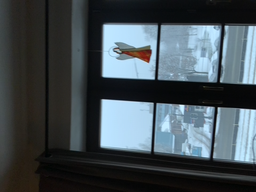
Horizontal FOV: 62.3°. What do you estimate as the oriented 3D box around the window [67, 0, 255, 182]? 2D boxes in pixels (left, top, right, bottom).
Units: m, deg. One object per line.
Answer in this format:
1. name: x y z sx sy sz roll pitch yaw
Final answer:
1. window: 0.390 -0.220 1.460 0.210 1.530 1.420 -8 -78 -81
